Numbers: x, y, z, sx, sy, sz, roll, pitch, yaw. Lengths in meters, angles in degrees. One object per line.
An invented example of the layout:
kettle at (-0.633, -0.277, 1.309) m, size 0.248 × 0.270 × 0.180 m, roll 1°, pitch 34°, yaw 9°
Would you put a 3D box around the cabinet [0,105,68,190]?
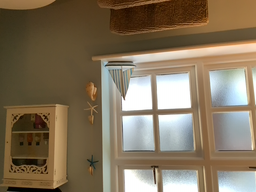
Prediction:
cabinet at (-0.640, 0.340, 1.460) m, size 0.400 × 0.530 × 0.160 m, roll -3°, pitch 173°, yaw 9°
